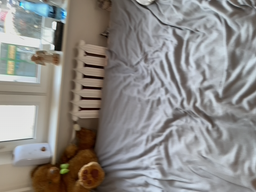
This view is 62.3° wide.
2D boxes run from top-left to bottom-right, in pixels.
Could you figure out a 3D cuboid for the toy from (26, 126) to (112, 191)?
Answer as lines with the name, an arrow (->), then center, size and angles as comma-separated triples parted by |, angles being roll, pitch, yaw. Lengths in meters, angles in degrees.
toy -> -0.530, 0.620, 1.800 | 0.490, 0.480, 0.500 | -57, 46, 34
